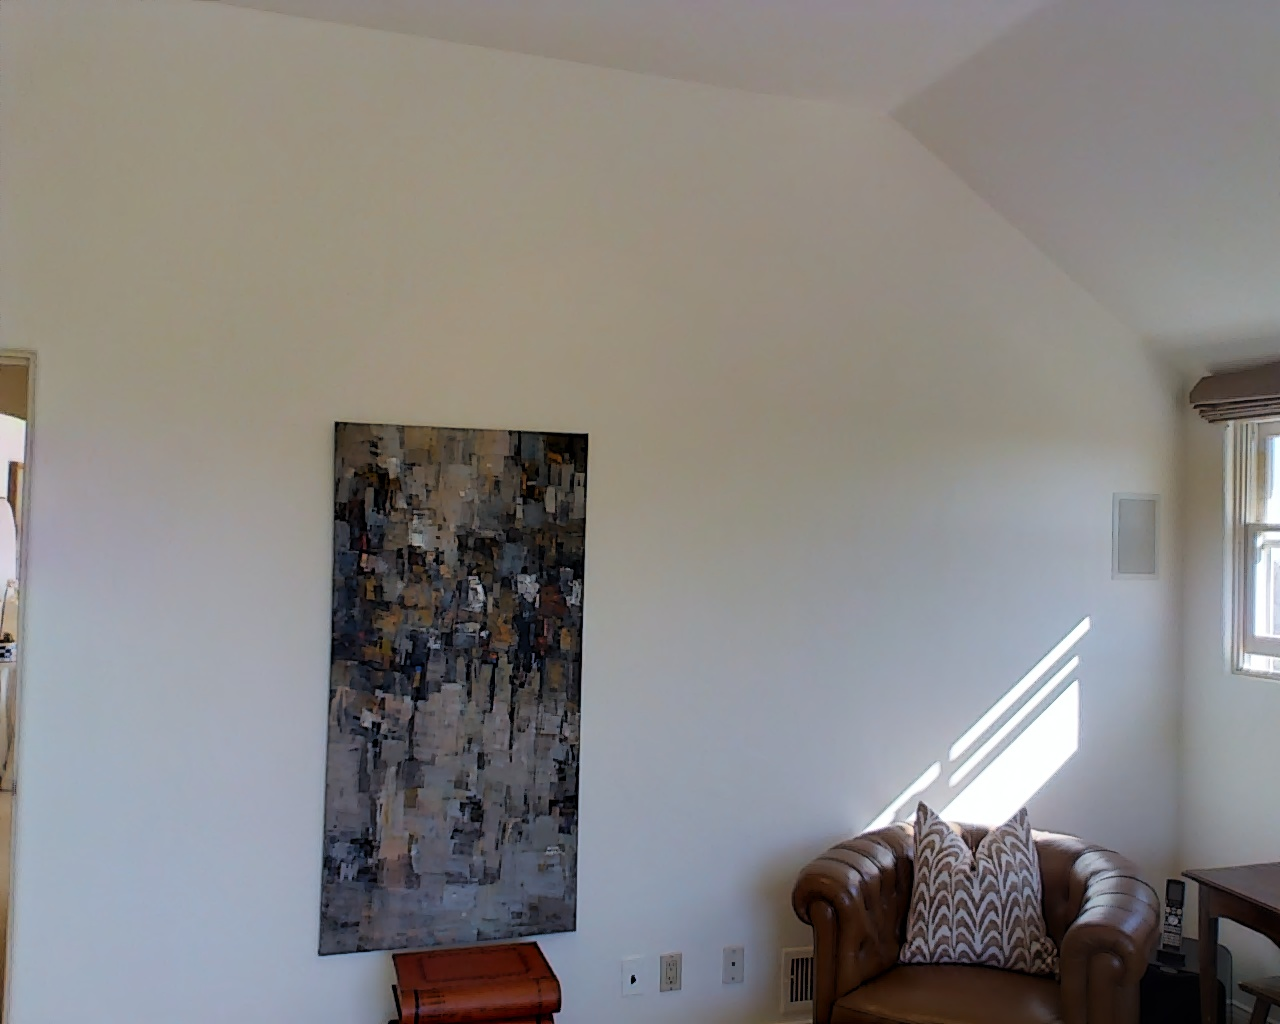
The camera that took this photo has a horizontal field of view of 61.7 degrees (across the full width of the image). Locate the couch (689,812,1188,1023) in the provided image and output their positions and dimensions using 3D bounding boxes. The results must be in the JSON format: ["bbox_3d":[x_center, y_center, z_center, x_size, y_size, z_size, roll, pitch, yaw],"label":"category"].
[{"bbox_3d":[0.800,1.320,2.680,0.990,0.770,1.090,1,-2,28],"label":"couch"}]

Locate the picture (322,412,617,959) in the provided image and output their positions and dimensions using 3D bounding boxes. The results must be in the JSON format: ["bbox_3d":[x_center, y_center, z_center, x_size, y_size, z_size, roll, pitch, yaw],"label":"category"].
[{"bbox_3d":[-0.480,0.490,3.120,0.800,1.510,0.050,2,-2,-18],"label":"picture"}]
